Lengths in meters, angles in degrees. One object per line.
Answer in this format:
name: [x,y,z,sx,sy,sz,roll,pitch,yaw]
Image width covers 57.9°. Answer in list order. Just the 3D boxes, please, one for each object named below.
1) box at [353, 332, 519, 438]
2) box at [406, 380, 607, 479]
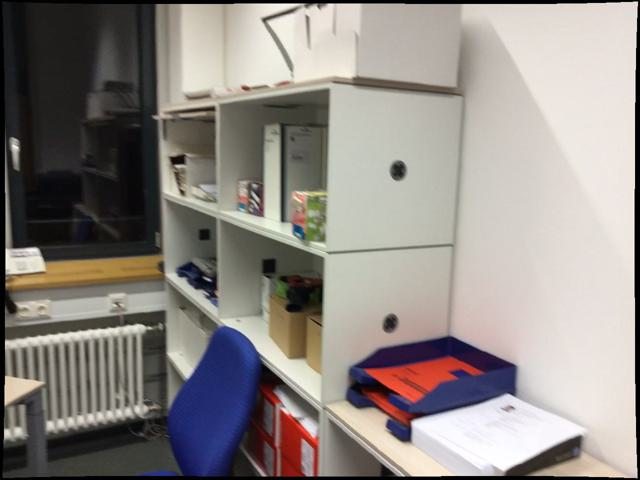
box: [0.290,0.350,1.460,0.330,0.130,0.230,-3,12,-31]
box: [0.410,0.420,1.280,0.350,0.070,0.250,-3,12,-31]
